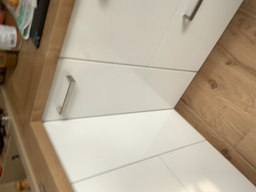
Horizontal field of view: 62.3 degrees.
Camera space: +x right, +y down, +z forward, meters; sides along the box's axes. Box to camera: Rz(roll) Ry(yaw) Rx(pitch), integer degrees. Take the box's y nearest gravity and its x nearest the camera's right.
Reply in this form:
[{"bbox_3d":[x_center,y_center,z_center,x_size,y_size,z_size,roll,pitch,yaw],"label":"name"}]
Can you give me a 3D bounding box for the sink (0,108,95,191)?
[{"bbox_3d":[-0.380,0.350,0.890,0.380,0.190,0.450,47,123,35],"label":"sink"}]
